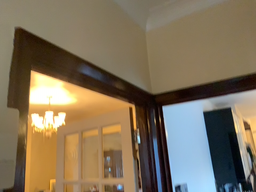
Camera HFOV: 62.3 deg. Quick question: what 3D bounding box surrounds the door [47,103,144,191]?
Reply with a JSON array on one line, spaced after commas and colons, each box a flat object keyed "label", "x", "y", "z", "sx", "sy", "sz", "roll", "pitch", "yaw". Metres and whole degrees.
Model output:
[{"label": "door", "x": -0.220, "y": 1.080, "z": 1.210, "sx": 0.820, "sy": 1.970, "sz": 0.040, "roll": -15, "pitch": -19, "yaw": 34}]
